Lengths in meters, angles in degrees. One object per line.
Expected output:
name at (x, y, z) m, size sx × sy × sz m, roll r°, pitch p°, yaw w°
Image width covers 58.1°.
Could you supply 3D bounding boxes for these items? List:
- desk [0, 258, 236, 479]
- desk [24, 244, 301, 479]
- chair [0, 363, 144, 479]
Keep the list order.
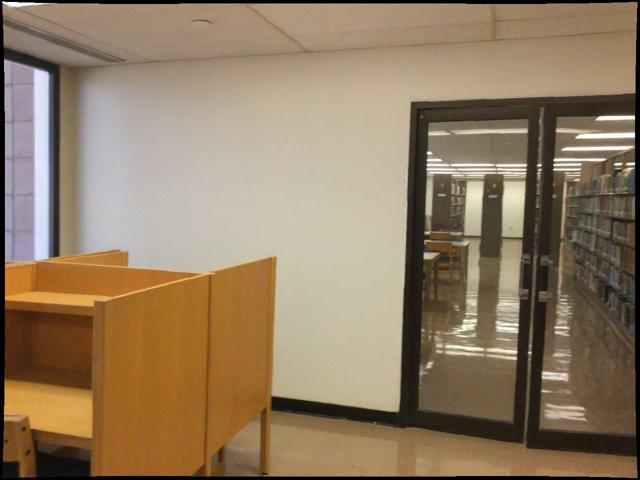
desk at (-1.017, 0.772, 2.350) m, size 1.018 × 1.273 × 0.880 m, roll 2°, pitch 5°, yaw 23°
desk at (-0.778, 0.692, 3.080) m, size 1.058 × 1.233 × 0.930 m, roll 2°, pitch 5°, yaw 23°
chair at (-1.207, 1.013, 2.330) m, size 0.728 × 0.802 × 0.600 m, roll 2°, pitch 5°, yaw 23°
